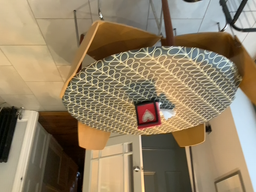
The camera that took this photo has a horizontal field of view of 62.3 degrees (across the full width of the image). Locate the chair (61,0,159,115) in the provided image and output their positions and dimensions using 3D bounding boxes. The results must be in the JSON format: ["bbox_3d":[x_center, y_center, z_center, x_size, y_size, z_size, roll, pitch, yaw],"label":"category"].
[{"bbox_3d":[-0.120,-0.370,1.390,0.420,0.850,0.360,17,145,-30],"label":"chair"}]

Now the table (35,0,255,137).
[{"bbox_3d":[0.150,-0.230,1.760,1.200,0.720,1.230,-3,150,1],"label":"table"}]

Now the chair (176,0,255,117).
[{"bbox_3d":[0.610,-0.350,1.450,0.420,0.850,0.390,-10,149,14],"label":"chair"}]

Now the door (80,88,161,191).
[{"bbox_3d":[-0.130,0.930,2.490,1.020,2.040,0.070,-17,147,24],"label":"door"}]
